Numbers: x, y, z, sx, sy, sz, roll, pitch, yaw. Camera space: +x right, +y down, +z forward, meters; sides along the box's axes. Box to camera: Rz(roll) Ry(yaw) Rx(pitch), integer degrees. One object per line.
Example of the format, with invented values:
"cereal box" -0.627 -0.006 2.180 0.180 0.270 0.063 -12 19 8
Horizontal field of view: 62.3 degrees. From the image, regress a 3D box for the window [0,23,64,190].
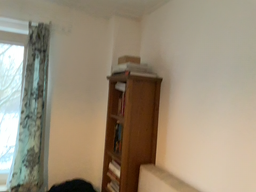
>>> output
"window" -1.420 0.080 1.800 1.580 1.450 0.200 4 1 -26
